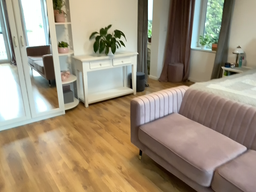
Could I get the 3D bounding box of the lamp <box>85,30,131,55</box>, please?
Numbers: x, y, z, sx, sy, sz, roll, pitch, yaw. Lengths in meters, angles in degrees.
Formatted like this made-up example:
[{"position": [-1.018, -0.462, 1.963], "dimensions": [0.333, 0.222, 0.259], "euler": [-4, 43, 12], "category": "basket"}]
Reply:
[{"position": [-0.360, -1.010, 3.950], "dimensions": [0.740, 0.360, 0.420], "euler": [-16, 26, -36], "category": "lamp"}]
